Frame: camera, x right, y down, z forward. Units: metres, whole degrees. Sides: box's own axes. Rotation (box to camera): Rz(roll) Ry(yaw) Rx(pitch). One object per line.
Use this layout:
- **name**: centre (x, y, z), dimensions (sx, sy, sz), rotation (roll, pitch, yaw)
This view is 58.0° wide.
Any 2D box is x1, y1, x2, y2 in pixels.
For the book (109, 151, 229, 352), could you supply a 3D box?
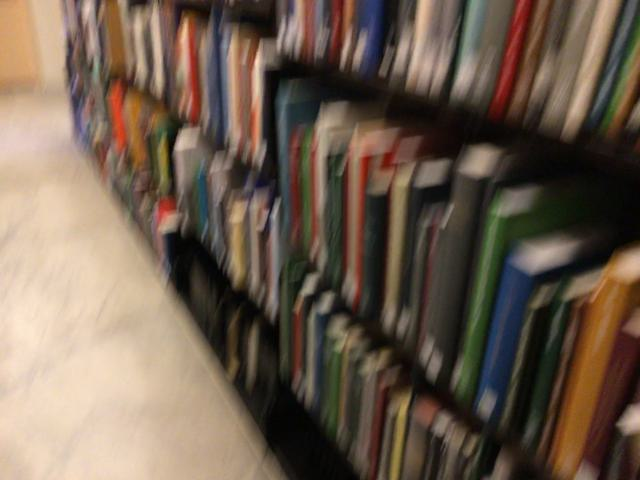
- **book**: centre (-0.690, -0.020, 2.510), dimensions (0.150, 0.390, 1.180), rotation (-13, 30, -27)

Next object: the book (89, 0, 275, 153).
- **book**: centre (-0.560, -0.700, 2.130), dimensions (0.310, 0.390, 1.180), rotation (-13, 30, -27)

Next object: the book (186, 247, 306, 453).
- **book**: centre (-0.250, 0.320, 1.840), dimensions (0.150, 0.370, 0.570), rotation (-13, 30, -27)

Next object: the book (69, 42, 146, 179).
- **book**: centre (-1.230, -0.760, 3.340), dimensions (0.240, 0.650, 0.530), rotation (-13, 30, -27)

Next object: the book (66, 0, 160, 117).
- **book**: centre (-1.110, -1.040, 3.040), dimensions (0.240, 0.550, 0.880), rotation (-13, 30, -27)

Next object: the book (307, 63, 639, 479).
- **book**: centre (0.260, 0.000, 0.920), dimensions (0.260, 0.420, 0.680), rotation (-13, 30, -27)

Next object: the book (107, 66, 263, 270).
- **book**: centre (-0.600, -0.370, 2.410), dimensions (0.270, 0.480, 1.140), rotation (-13, 30, -27)

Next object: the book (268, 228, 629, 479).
- **book**: centre (0.150, 0.360, 1.120), dimensions (0.130, 0.430, 0.900), rotation (-13, 30, -27)
